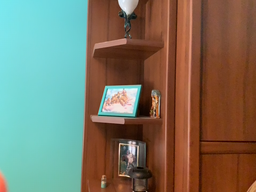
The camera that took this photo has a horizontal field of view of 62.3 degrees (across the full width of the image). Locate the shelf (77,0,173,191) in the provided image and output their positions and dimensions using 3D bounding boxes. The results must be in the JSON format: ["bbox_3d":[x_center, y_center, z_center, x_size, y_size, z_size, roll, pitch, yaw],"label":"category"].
[{"bbox_3d":[-0.050,0.610,0.960,0.340,2.350,0.380,2,-2,-8],"label":"shelf"}]
